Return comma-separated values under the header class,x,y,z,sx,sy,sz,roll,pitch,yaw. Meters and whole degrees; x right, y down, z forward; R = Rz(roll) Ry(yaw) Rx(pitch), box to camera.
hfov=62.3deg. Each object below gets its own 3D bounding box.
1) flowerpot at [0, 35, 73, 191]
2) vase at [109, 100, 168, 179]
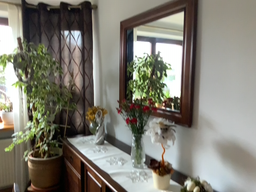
class,x,y,z,sx,sy,sz,roll,pitch,yaw
flowerpot,-0.960,0.240,2.380,0.570,1.690,0.550,0,6,-6
vase,0.070,0.300,1.660,0.290,0.490,0.370,-3,7,-35
